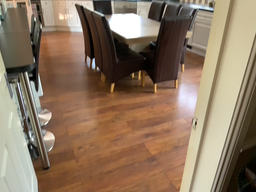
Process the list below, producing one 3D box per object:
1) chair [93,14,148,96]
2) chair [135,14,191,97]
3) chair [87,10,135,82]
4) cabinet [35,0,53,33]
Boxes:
[{"bbox_3d":[-0.110,-0.580,2.930,0.570,0.970,0.430,-12,31,-21],"label":"chair"},{"bbox_3d":[0.440,-0.580,2.950,0.440,0.970,0.580,-12,31,-22],"label":"chair"},{"bbox_3d":[-0.250,-0.780,3.280,0.580,0.970,0.420,-12,31,-21],"label":"chair"},{"bbox_3d":[-2.510,-2.420,6.300,0.280,0.910,0.590,-13,31,-23],"label":"cabinet"}]
